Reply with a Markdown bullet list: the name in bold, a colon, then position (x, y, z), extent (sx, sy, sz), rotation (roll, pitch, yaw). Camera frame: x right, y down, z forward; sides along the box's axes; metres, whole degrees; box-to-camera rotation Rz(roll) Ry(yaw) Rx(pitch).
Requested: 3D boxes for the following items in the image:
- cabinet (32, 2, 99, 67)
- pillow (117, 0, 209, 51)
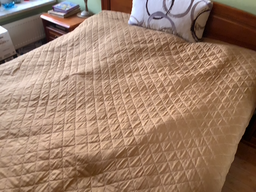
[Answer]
- **cabinet**: position (-0.720, -0.750, 2.530), extent (0.540, 0.500, 0.450), rotation (27, 46, 27)
- **pillow**: position (0.250, -0.680, 1.780), extent (0.730, 0.330, 0.190), rotation (28, 47, 28)
